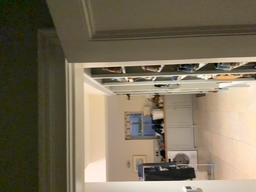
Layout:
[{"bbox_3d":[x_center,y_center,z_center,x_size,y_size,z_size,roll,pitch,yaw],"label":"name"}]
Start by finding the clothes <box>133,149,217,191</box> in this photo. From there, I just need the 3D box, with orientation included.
[{"bbox_3d":[1.000,1.820,4.900,0.920,1.720,1.000,72,-163,-84],"label":"clothes"}]
